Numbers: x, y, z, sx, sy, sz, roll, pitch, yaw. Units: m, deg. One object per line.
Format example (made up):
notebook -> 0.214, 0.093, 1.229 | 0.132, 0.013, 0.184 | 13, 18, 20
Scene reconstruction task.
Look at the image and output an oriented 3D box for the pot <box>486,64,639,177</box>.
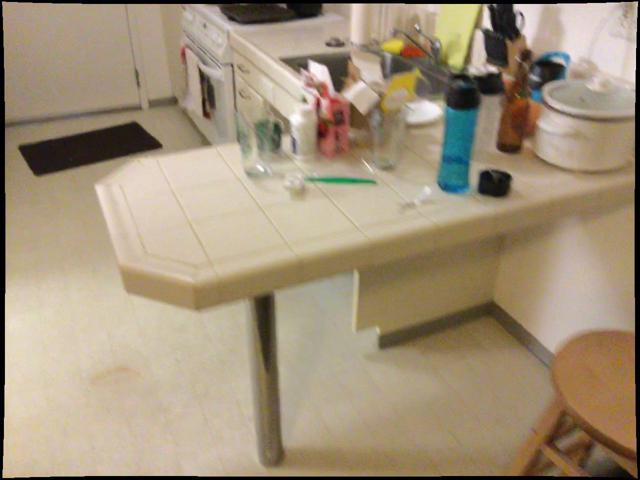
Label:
pot -> 0.649, -0.320, 1.500 | 0.290, 0.170, 0.270 | -13, 36, -22
